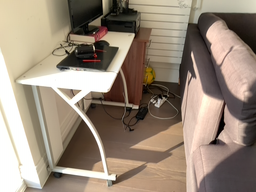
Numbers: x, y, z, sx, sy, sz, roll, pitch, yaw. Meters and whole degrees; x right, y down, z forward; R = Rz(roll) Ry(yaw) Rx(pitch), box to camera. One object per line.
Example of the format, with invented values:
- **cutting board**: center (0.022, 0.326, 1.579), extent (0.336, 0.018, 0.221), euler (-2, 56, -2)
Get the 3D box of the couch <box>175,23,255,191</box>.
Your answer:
- **couch**: center (0.760, 0.210, 1.180), extent (0.830, 0.920, 1.010), euler (6, 32, 7)
